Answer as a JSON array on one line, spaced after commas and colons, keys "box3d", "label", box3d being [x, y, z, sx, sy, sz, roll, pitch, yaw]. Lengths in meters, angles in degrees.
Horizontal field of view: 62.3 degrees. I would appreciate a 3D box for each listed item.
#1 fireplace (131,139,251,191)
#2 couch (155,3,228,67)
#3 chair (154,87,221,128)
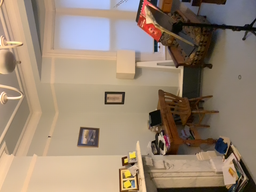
[{"box3d": [0.770, 1.490, 2.390, 2.020, 1.250, 0.700, -97, 10, -52], "label": "fireplace"}, {"box3d": [0.960, -1.030, 3.500, 0.930, 0.750, 0.710, -97, 11, -53], "label": "couch"}, {"box3d": [0.900, 0.190, 3.390, 0.490, 0.850, 0.450, 99, 170, -53], "label": "chair"}]
